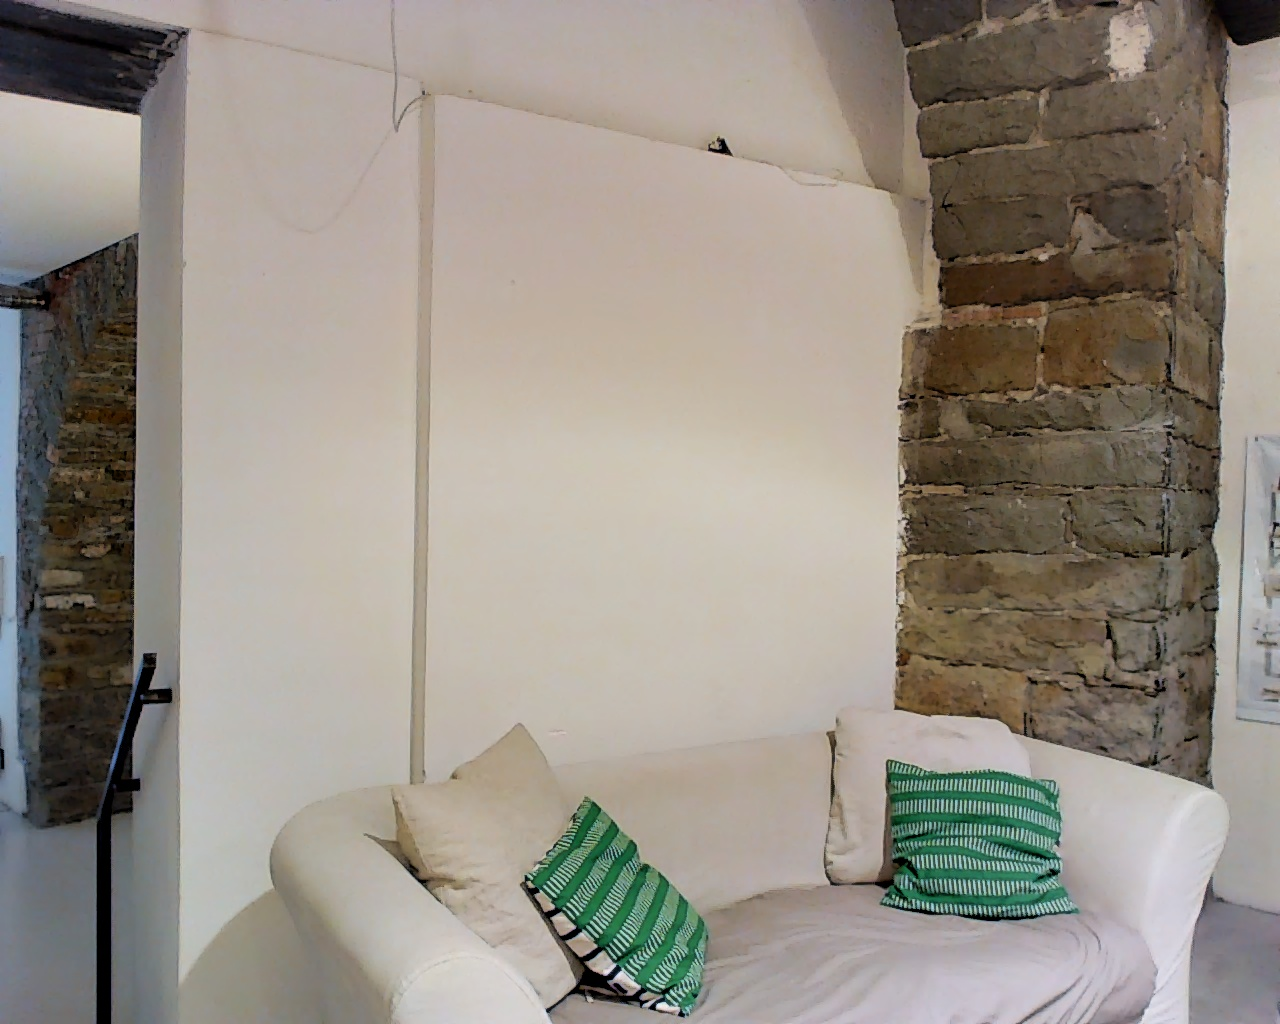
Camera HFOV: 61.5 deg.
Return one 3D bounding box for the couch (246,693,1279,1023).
[{"bbox_3d":[0.340,1.020,2.630,2.270,0.770,1.220,0,1,-30],"label":"couch"}]
